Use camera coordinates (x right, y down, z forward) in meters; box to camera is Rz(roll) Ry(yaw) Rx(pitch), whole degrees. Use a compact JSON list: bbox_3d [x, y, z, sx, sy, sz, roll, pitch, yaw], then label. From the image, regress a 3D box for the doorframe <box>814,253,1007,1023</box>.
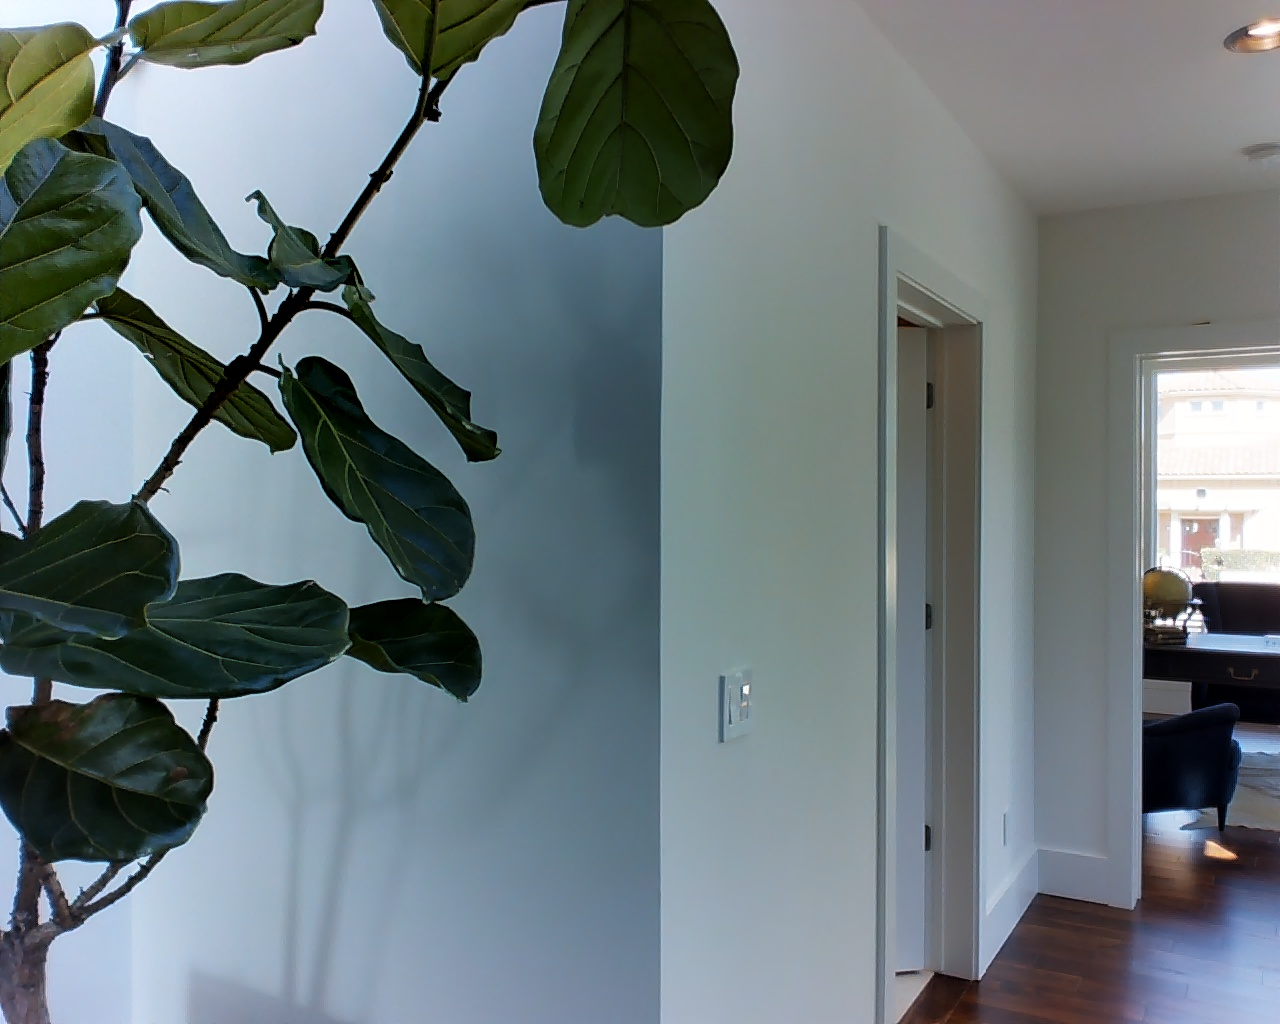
[{"bbox_3d":[0.830,0.450,3.170,0.280,2.190,0.980,0,0,31],"label":"doorframe"}]
